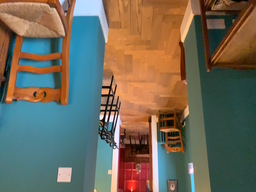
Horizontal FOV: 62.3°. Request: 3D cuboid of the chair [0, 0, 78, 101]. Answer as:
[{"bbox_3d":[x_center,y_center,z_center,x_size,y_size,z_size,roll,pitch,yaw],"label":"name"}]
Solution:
[{"bbox_3d":[-0.640,-0.480,1.400,0.430,0.930,0.460,0,162,4],"label":"chair"}]
